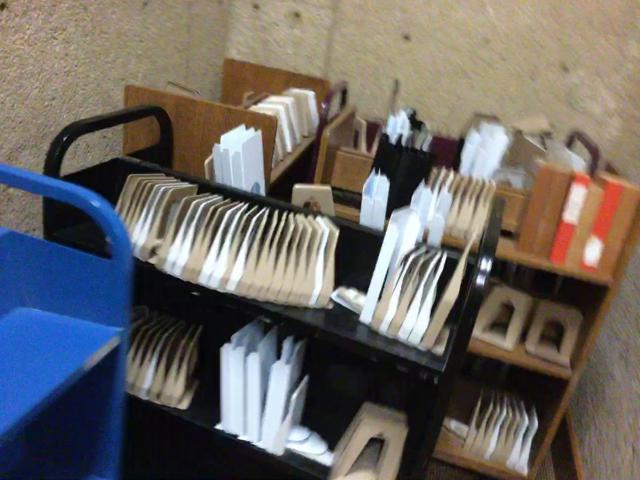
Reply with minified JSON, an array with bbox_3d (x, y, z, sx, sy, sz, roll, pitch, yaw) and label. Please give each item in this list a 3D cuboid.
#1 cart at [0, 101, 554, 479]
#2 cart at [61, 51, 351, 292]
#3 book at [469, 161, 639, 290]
[{"bbox_3d":[-0.110,0.320,1.480,1.000,1.080,0.660,13,24,11],"label":"cart"},{"bbox_3d":[-0.290,-0.330,1.990,0.510,0.470,1.120,13,24,11],"label":"cart"},{"bbox_3d":[0.570,-0.040,1.440,0.340,0.230,0.110,13,24,11],"label":"book"}]
